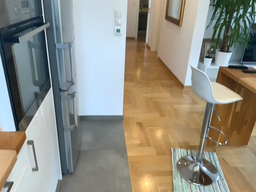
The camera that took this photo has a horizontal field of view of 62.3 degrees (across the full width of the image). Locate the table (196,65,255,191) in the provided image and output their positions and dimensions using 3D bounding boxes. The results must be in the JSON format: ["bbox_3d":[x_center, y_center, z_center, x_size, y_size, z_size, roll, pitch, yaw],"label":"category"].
[{"bbox_3d":[1.150,0.420,1.620,0.550,0.910,1.440,0,25,-7],"label":"table"}]

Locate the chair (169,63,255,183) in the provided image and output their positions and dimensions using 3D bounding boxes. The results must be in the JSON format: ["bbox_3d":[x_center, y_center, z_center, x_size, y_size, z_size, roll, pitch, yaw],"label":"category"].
[{"bbox_3d":[0.660,0.240,1.840,0.390,0.990,0.340,-1,25,-9],"label":"chair"}]

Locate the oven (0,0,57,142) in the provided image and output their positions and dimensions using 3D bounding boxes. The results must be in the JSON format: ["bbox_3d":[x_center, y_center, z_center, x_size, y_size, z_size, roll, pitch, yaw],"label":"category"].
[{"bbox_3d":[-0.800,-0.210,1.100,0.650,0.610,0.650,1,25,-5],"label":"oven"}]
